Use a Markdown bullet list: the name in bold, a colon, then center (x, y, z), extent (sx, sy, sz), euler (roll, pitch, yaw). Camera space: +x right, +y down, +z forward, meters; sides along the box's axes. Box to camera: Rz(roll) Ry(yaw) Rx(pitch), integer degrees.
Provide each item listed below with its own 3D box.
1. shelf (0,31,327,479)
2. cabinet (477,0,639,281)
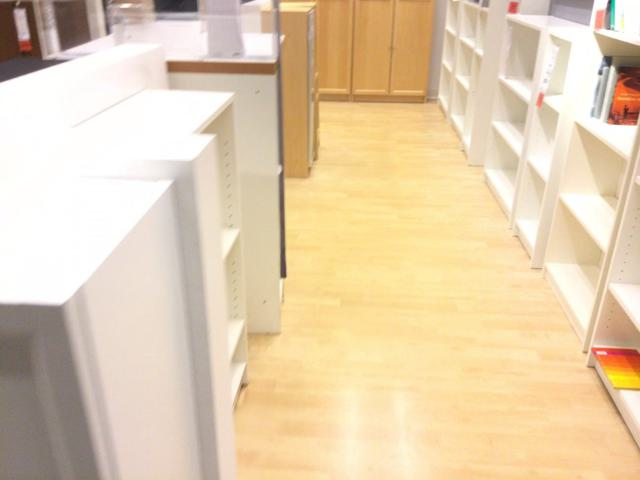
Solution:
- **shelf**: center (-0.530, 0.120, 1.490), extent (0.940, 1.090, 1.270), euler (4, 26, 6)
- **cabinet**: center (1.150, -0.660, 3.080), extent (0.290, 1.100, 1.570), euler (4, 26, 6)
